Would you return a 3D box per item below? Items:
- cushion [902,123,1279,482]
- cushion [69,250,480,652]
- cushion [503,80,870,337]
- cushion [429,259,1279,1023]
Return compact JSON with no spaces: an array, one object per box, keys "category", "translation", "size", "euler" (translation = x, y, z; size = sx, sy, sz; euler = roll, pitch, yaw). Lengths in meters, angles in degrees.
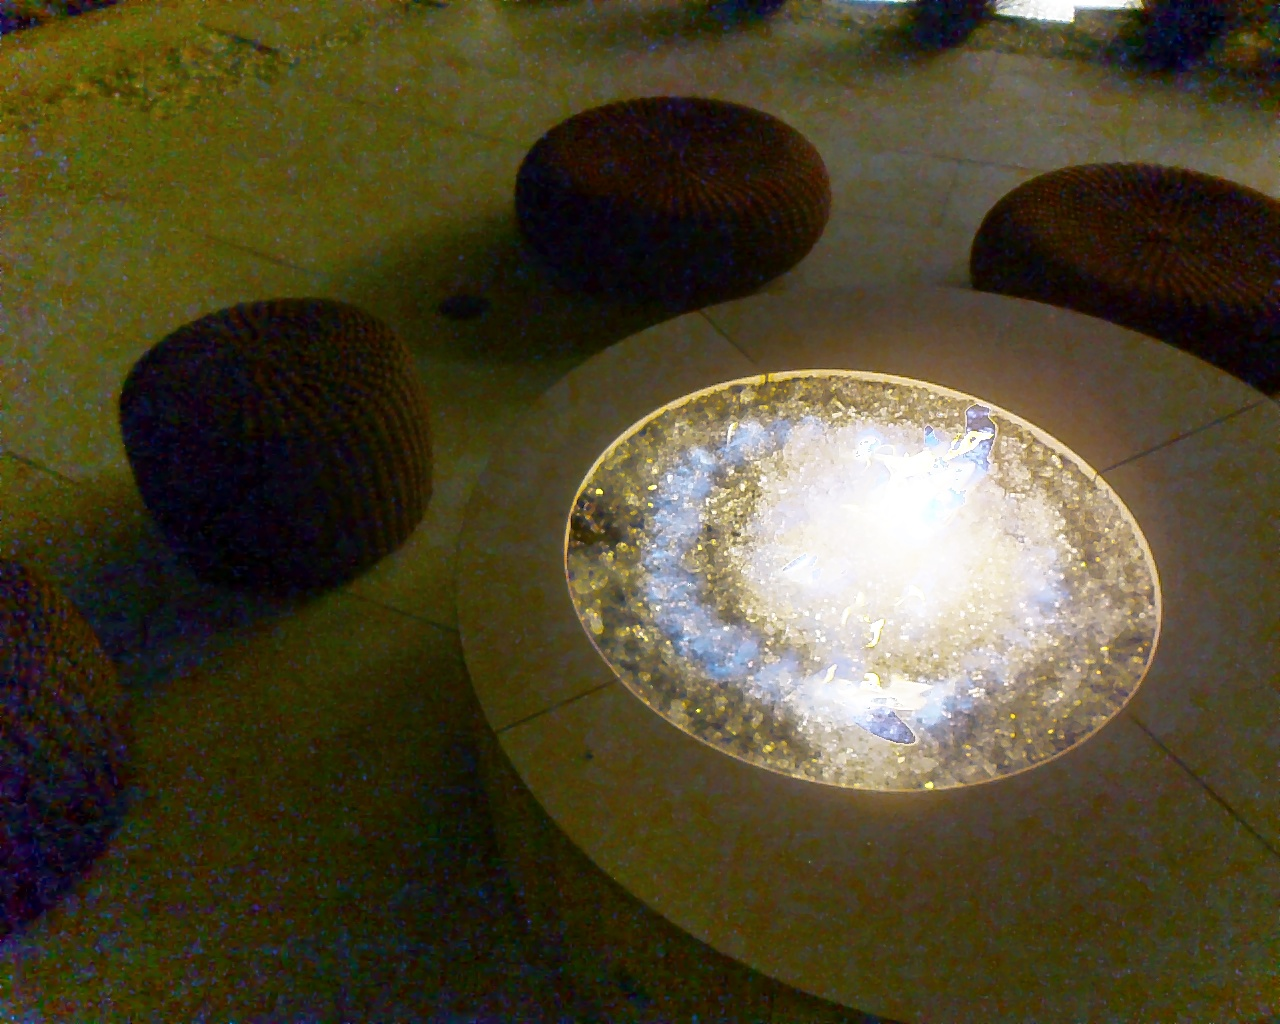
[{"category":"cushion","translation":[1.270,-0.580,2.670],"size":[0.870,0.260,0.890],"euler":[27,50,27]},{"category":"cushion","translation":[-0.720,-0.150,2.150],"size":[0.570,0.390,0.570],"euler":[-22,47,-21]},{"category":"cushion","translation":[0.080,-0.880,3.010],"size":[0.860,0.260,0.880],"euler":[-6,43,-5]},{"category":"cushion","translation":[0.430,0.230,1.690],"size":[1.430,0.480,1.410],"euler":[-6,43,-5]}]
